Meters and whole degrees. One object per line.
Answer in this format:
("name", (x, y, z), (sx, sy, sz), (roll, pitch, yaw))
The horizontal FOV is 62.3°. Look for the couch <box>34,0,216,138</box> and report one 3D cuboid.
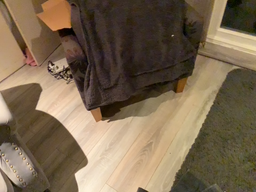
("couch", (-0.090, -0.430, 1.380), (0.780, 0.840, 0.850), (-21, 51, -12))
